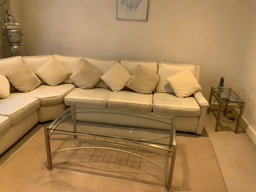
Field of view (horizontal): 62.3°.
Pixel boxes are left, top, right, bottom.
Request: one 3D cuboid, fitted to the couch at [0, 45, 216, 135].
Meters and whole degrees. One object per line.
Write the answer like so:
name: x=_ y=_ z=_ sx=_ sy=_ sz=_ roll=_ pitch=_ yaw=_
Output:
couch: x=-0.390 y=-0.190 z=3.340 sx=3.040 sy=0.870 sz=0.940 roll=6 pitch=22 yaw=6
